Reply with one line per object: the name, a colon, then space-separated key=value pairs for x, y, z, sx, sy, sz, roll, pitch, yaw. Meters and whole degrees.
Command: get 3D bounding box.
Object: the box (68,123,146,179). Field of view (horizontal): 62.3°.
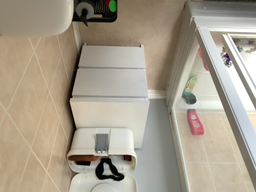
box: x=-0.110 y=0.330 z=1.240 sx=0.390 sy=0.200 sz=0.310 roll=1 pitch=139 yaw=-2
